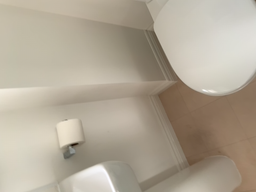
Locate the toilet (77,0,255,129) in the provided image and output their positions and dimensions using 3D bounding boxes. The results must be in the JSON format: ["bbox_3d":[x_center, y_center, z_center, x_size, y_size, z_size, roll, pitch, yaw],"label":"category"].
[{"bbox_3d":[0.260,-0.330,0.840,0.370,0.770,0.690,-38,68,43],"label":"toilet"}]
